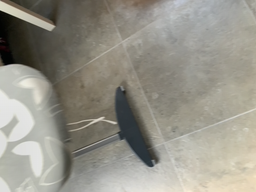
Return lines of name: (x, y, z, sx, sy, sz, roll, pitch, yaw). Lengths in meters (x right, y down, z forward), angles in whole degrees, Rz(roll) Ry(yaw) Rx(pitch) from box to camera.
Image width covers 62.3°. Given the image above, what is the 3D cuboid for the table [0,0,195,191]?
table: (-0.690, 0.420, 0.990, 1.770, 0.870, 0.490, -25, 78, 21)
